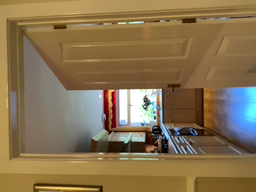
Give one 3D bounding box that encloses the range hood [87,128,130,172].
[{"bbox_3d":[-0.310,0.940,3.860,0.840,0.630,0.550,-20,-71,-85],"label":"range hood"}]
